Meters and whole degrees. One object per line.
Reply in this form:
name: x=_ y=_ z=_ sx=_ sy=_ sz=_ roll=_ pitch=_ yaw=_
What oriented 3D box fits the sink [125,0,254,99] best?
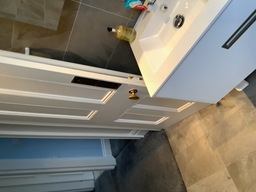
sink: x=0.220 y=-0.370 z=1.050 sx=0.620 sy=0.110 sz=0.490 roll=-54 pitch=40 yaw=41
